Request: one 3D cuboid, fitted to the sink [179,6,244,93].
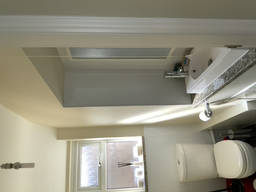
[{"bbox_3d":[0.490,-0.250,1.370,0.590,0.100,0.290,108,161,-71],"label":"sink"}]

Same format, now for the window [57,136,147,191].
[{"bbox_3d":[-0.290,0.790,2.450,0.140,0.950,0.620,103,165,-65],"label":"window"}]

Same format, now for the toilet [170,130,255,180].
[{"bbox_3d":[0.920,0.600,2.070,0.710,0.790,0.380,106,163,-68],"label":"toilet"}]
